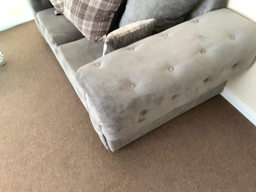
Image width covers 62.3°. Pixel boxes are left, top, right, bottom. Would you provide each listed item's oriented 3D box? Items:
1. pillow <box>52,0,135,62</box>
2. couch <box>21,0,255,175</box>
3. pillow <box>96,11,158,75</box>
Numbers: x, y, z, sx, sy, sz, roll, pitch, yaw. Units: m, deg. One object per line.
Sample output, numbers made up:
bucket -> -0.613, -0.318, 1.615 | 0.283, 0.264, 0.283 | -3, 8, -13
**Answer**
pillow -> -0.250, -0.570, 1.340 | 0.210, 0.430, 0.550 | -38, 79, -20
couch -> -0.130, -0.530, 1.550 | 0.930, 0.740, 1.710 | -27, 55, -17
pillow -> -0.020, -0.290, 1.200 | 0.280, 0.280, 0.130 | -25, 75, -18
